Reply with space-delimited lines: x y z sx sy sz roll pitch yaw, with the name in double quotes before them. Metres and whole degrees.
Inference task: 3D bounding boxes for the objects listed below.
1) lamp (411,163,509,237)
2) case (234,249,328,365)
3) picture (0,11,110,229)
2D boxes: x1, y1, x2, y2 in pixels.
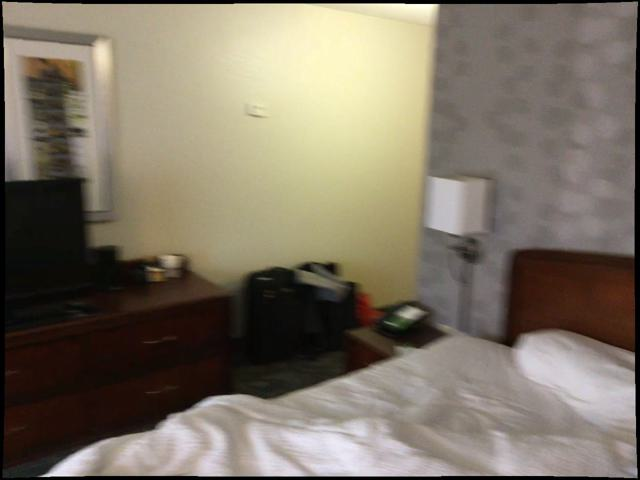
"lamp" 0.619 -0.190 2.590 0.250 0.260 0.310 -8 19 -37
"case" -0.240 0.390 3.530 0.470 0.561 0.290 -8 19 -37
"picture" -1.259 -0.541 2.720 0.510 0.951 0.050 -7 18 -38
